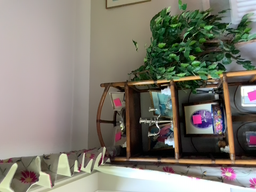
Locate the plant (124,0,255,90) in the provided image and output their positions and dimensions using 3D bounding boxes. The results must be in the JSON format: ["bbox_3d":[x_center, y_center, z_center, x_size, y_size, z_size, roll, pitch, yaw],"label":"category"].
[{"bbox_3d":[0.850,-0.460,1.660,0.560,1.670,0.620,26,-118,-71],"label":"plant"}]
